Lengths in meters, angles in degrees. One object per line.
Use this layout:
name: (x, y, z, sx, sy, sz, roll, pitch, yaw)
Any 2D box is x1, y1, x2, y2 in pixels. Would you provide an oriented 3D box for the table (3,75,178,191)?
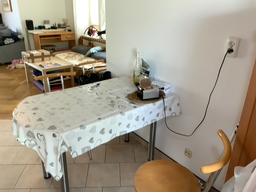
table: (-0.270, 0.370, 1.860, 1.200, 0.770, 0.690, -16, 29, -36)

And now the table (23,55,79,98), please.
table: (-1.460, -0.410, 4.000, 0.640, 0.490, 0.900, -18, 30, -38)
